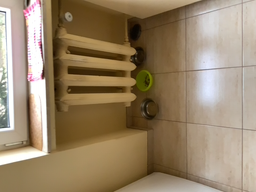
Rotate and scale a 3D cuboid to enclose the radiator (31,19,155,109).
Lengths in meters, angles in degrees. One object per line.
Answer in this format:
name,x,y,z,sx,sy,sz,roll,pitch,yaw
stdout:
radiator,-0.180,-0.170,1.420,0.250,0.790,0.440,-5,89,45
